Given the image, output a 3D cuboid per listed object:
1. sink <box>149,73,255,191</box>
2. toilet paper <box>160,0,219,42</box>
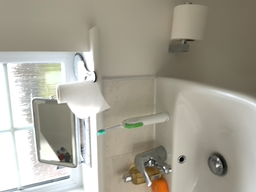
[{"bbox_3d":[0.270,0.230,0.660,0.430,0.210,0.560,21,114,62],"label":"sink"},{"bbox_3d":[0.200,-0.240,0.700,0.100,0.150,0.110,22,115,62],"label":"toilet paper"}]
